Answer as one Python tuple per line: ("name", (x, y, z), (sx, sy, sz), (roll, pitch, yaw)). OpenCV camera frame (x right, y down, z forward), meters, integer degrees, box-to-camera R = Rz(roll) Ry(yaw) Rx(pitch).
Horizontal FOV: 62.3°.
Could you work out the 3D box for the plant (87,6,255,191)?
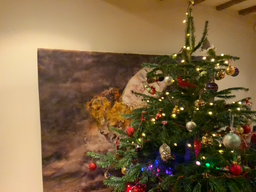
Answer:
("plant", (0.540, 0.670, 1.690), (1.280, 2.000, 1.610), (-2, 4, -26))
